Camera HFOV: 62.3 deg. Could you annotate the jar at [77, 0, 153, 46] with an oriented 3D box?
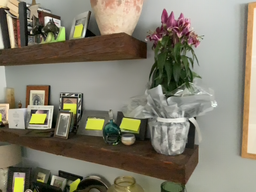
[{"bbox_3d":[-0.060,-0.500,1.150,0.300,0.390,0.300,2,6,26],"label":"jar"}]
